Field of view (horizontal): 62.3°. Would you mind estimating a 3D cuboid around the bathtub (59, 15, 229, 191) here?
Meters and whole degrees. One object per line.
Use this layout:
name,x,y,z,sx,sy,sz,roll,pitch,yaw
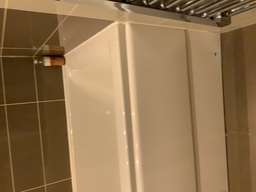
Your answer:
bathtub,0.060,0.470,1.150,0.700,0.550,1.500,-2,93,57
